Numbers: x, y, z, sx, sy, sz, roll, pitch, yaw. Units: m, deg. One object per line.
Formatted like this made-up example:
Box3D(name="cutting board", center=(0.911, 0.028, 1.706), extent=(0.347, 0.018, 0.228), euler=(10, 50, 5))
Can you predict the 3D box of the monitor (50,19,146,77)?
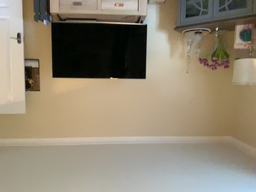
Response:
Box3D(name="monitor", center=(-0.350, -0.560, 2.550), extent=(1.110, 0.650, 0.090), euler=(0, -175, -4))
